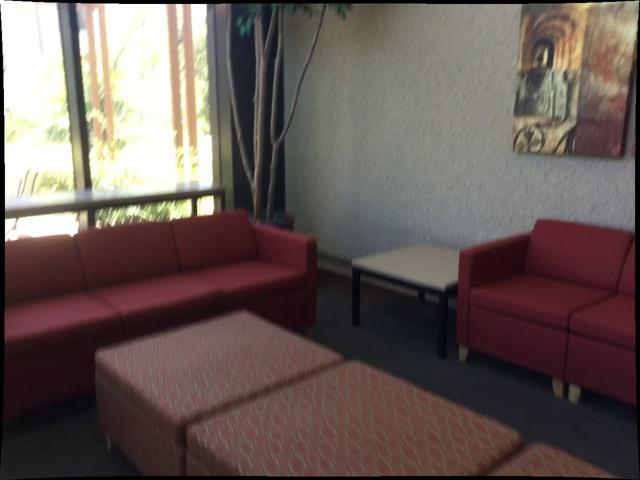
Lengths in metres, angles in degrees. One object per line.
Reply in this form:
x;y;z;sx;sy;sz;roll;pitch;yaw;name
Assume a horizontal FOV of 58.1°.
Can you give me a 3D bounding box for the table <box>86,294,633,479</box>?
0.100;0.831;1.850;0.859;0.531;2.389;-9;18;-39;table
